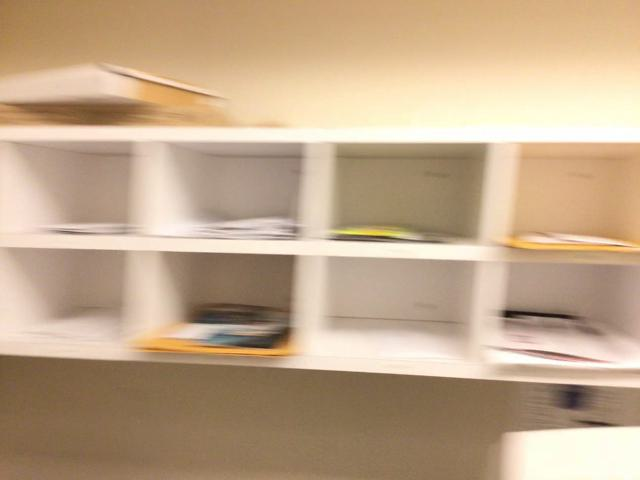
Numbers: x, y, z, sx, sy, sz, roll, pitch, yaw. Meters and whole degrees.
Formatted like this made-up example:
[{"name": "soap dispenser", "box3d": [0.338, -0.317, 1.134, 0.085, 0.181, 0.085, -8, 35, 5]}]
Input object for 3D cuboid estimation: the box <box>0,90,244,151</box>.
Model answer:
[{"name": "box", "box3d": [-0.420, -0.200, 1.020, 0.520, 0.050, 0.280, -1, 3, 5]}]
